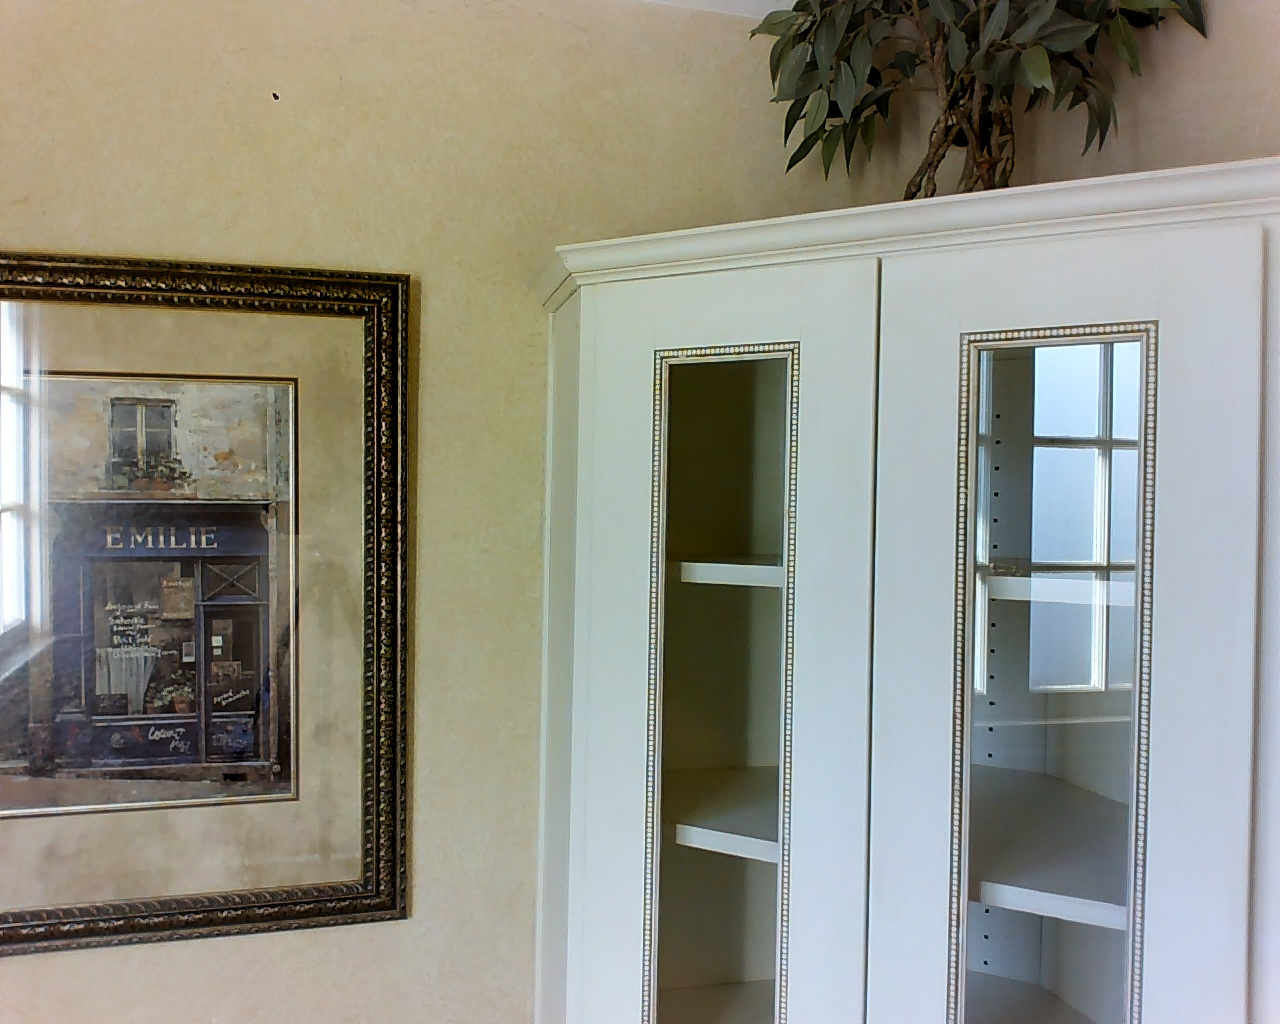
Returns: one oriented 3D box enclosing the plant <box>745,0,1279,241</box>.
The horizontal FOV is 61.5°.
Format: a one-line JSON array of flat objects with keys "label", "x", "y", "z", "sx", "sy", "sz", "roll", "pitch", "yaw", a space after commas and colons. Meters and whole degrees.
[{"label": "plant", "x": 0.350, "y": -0.570, "z": 1.100, "sx": 0.350, "sy": 0.460, "sz": 0.410, "roll": 1, "pitch": 0, "yaw": -17}]
